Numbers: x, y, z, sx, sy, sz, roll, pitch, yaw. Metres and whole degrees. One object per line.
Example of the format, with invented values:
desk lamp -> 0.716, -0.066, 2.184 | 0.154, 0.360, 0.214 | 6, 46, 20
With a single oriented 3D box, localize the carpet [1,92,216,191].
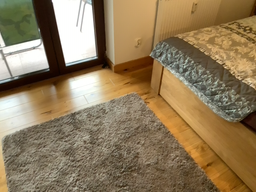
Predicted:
carpet -> -0.080, 0.630, 1.290 | 1.180, 0.040, 1.610 | -17, 46, -20

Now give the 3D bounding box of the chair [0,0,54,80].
chair -> -1.080, -0.650, 2.110 | 0.390, 0.790, 0.430 | -21, 47, -24
